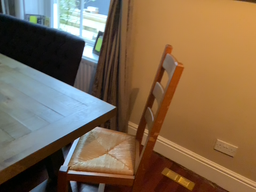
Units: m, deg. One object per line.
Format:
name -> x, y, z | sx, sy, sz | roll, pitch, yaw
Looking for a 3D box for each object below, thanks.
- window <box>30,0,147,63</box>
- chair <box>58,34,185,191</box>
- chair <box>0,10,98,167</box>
window -> -0.440, -1.410, 2.200 | 1.360, 1.760, 0.400 | 23, 29, 26
chair -> -0.090, 0.240, 1.210 | 0.480, 1.020, 0.440 | 8, 26, -2
chair -> -1.020, -0.190, 1.930 | 1.400, 0.910, 0.530 | 23, 29, 27
